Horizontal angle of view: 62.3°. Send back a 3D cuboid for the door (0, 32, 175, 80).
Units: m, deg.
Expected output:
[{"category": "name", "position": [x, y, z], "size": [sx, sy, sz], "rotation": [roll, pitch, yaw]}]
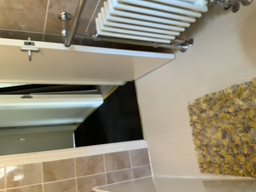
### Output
[{"category": "door", "position": [-0.610, -0.260, 1.580], "size": [0.640, 1.890, 0.110], "rotation": [-18, 75, 63]}]
